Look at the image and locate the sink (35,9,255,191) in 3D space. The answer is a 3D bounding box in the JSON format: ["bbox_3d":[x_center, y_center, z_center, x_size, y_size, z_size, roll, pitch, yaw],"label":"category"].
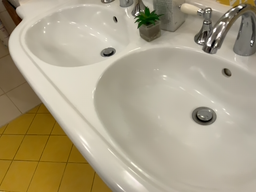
[{"bbox_3d":[0.200,0.100,0.460,0.520,0.200,0.650,-35,51,-20],"label":"sink"}]

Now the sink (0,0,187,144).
[{"bbox_3d":[-0.200,-0.230,0.850,0.520,0.200,0.650,-35,51,-20],"label":"sink"}]
